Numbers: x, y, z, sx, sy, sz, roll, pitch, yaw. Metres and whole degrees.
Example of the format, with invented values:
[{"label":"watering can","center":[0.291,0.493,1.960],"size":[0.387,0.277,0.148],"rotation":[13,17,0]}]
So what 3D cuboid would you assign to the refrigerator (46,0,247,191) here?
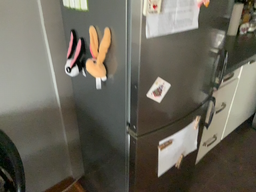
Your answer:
[{"label":"refrigerator","center":[0.060,-0.150,1.070],"size":[0.590,1.750,0.630],"rotation":[-24,39,-35]}]
